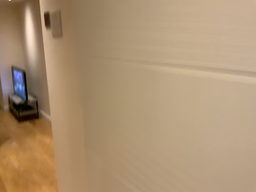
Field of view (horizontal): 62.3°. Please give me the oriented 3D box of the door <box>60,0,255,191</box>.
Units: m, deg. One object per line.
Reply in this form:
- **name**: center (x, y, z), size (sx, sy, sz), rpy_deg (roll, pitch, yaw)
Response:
- **door**: center (0.010, 0.410, 0.740), size (0.050, 1.930, 0.850), rpy_deg (-11, 18, -37)
